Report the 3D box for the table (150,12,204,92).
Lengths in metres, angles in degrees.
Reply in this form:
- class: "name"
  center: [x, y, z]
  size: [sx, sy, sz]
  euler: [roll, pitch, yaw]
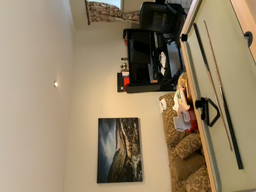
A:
- class: "table"
  center: [0.940, -0.920, 4.390]
  size: [0.640, 0.740, 1.550]
  euler: [98, 171, -64]
